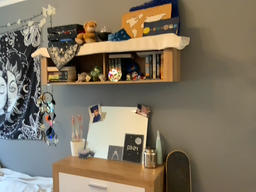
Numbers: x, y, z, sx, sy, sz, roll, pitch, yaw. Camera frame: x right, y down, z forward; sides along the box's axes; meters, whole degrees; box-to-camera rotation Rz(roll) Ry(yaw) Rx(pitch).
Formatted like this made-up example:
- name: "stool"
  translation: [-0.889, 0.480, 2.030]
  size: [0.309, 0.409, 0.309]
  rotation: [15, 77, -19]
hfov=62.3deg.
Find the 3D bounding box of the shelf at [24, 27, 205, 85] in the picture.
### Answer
- name: "shelf"
  translation: [-0.180, -0.280, 1.850]
  size: [1.580, 0.360, 0.370]
  rotation: [1, 3, 24]
